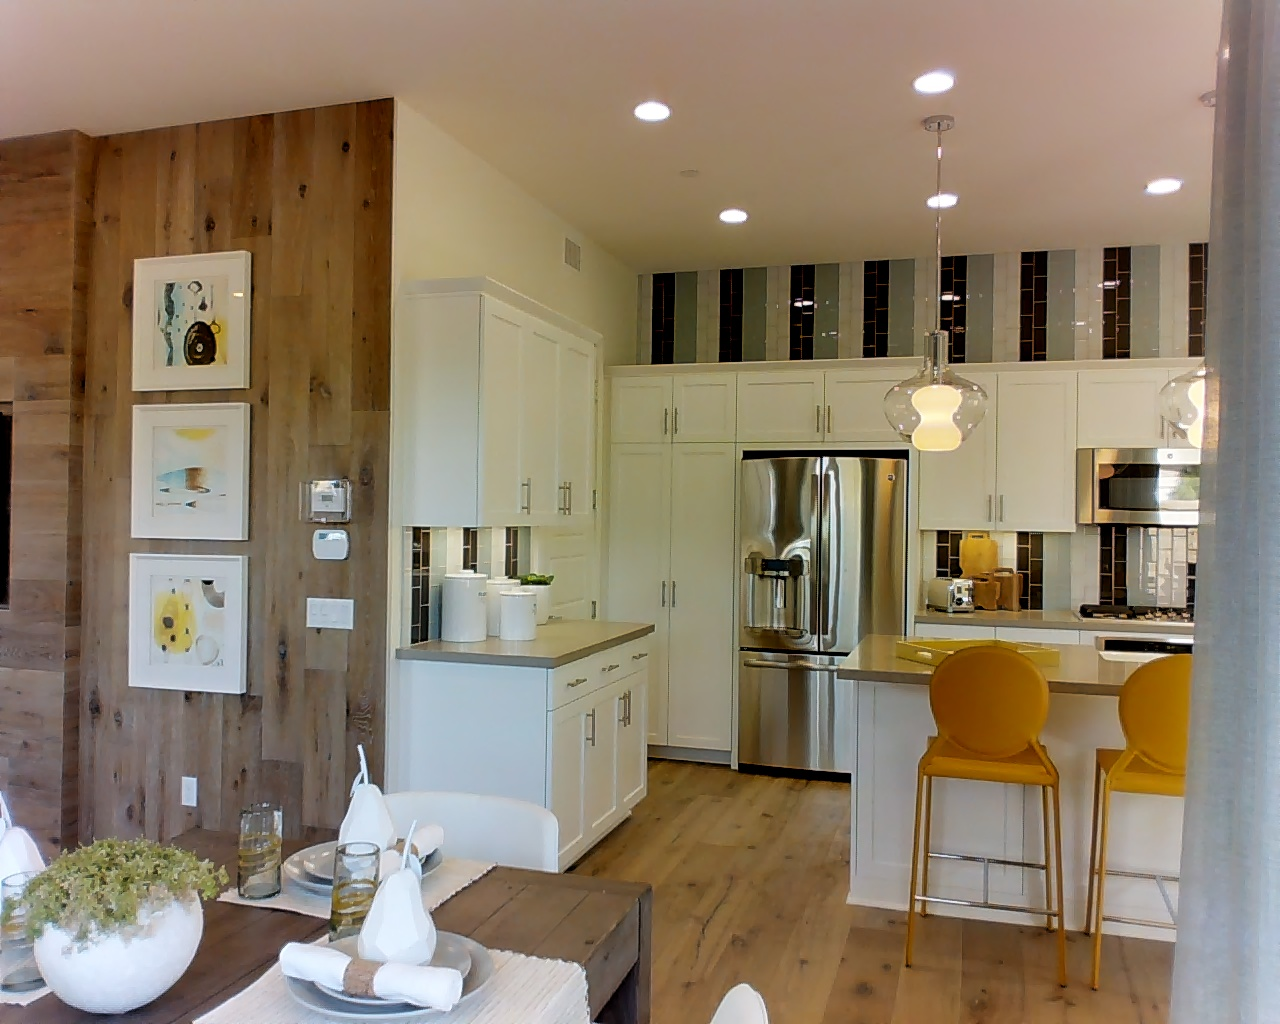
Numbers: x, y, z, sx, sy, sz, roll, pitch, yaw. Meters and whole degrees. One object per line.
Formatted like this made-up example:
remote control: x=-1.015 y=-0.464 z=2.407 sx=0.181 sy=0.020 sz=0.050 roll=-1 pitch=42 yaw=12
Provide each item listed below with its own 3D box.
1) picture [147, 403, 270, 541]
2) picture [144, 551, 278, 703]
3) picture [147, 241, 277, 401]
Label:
picture: x=-1.759 y=-0.160 z=4.360 sx=0.550 sy=0.550 sz=0.050 roll=0 pitch=-1 yaw=18
picture: x=-1.749 y=0.460 z=4.360 sx=0.600 sy=0.590 sz=0.050 roll=0 pitch=-1 yaw=18
picture: x=-1.749 y=-0.770 z=4.370 sx=0.580 sy=0.610 sz=0.060 roll=0 pitch=-1 yaw=18
